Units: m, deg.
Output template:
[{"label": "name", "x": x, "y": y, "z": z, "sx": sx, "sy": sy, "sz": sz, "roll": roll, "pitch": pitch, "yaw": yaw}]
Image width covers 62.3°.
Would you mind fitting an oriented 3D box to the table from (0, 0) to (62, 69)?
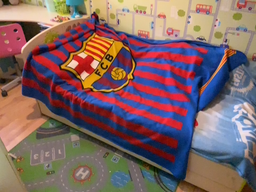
[{"label": "table", "x": -1.240, "y": -0.790, "z": 2.640, "sx": 0.570, "sy": 0.730, "sz": 0.470, "roll": 5, "pitch": 37, "yaw": 4}]
